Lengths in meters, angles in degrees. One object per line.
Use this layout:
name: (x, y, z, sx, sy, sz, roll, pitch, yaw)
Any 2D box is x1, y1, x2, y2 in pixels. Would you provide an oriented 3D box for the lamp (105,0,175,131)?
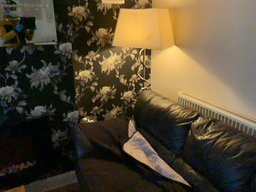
lamp: (0.140, -0.340, 2.300, 0.560, 1.250, 0.460, 9, 21, 27)
